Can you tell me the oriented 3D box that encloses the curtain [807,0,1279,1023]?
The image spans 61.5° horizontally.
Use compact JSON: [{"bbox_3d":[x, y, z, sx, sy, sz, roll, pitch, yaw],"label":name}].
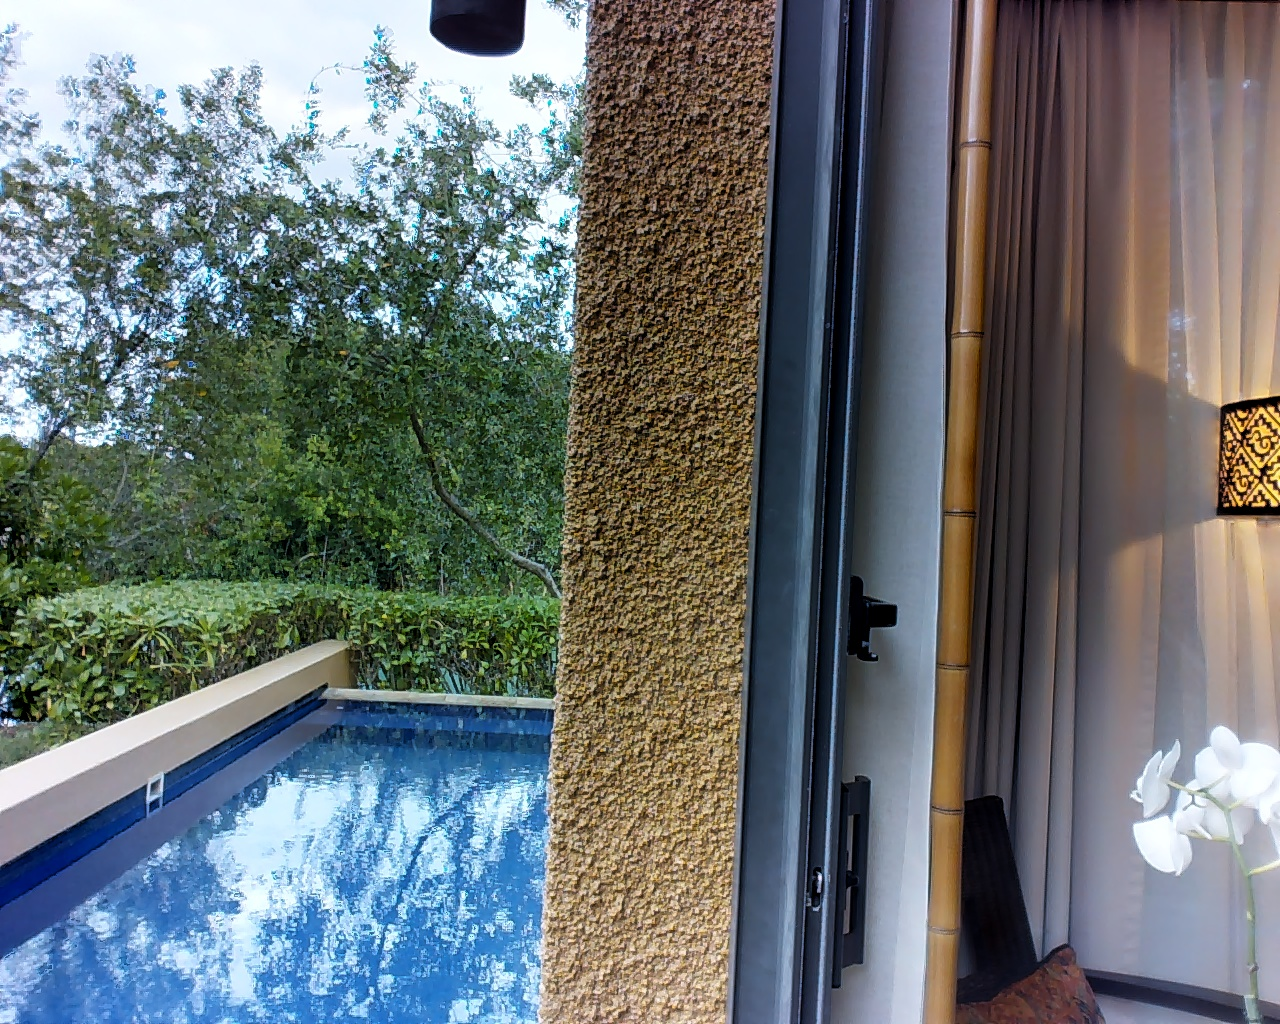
[{"bbox_3d":[1.000,0.110,1.960,1.240,2.621,0.460,2,0,-1],"label":"curtain"}]
